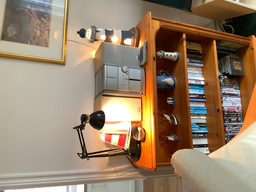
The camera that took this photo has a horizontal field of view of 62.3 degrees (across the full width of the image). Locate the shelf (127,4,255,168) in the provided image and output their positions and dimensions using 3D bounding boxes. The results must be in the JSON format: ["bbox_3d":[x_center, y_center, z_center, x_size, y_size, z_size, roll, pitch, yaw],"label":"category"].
[{"bbox_3d":[0.500,-0.030,1.510,0.360,0.940,0.930,154,117,-65],"label":"shelf"}]
